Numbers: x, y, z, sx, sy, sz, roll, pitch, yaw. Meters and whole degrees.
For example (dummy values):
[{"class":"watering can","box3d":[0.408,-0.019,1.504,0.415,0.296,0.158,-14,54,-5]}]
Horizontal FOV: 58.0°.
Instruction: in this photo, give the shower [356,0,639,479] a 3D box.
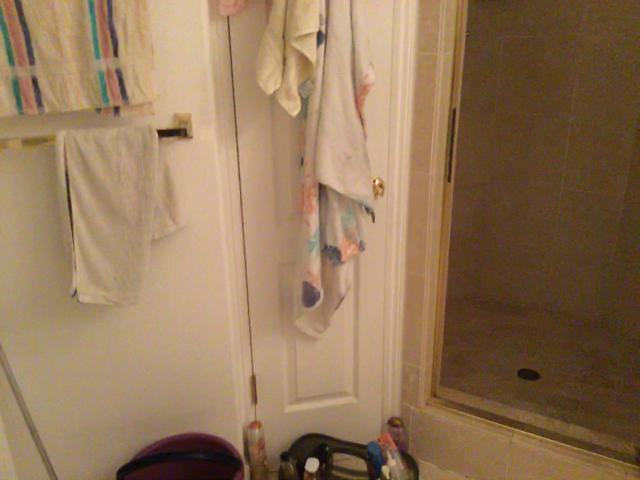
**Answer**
[{"class":"shower","box3d":[0.810,-0.120,1.870,0.920,1.560,1.120,12,23,27]}]
